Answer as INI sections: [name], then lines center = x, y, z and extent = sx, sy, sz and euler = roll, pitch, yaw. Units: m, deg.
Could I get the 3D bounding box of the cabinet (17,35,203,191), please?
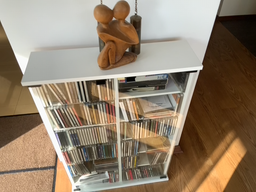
[cabinet]
center = -0.060, 0.170, 1.050
extent = 0.590, 0.870, 0.210
euler = -6, 45, -7
